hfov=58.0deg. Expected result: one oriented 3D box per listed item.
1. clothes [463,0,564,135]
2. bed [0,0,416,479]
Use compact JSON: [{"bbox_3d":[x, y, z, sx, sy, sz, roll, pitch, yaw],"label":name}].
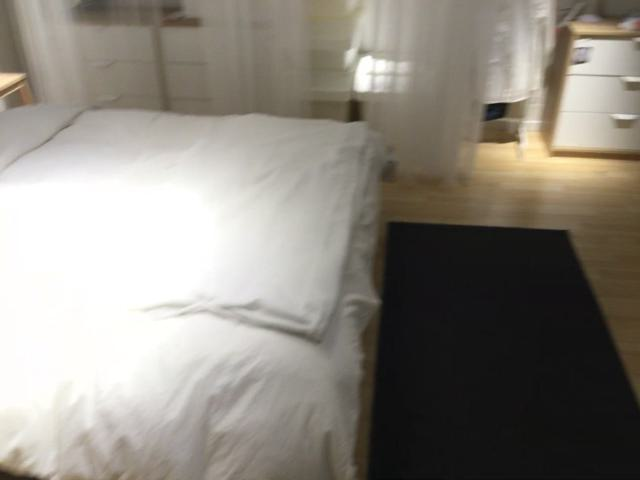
[{"bbox_3d":[0.990,-1.000,2.990,0.390,0.870,0.210,4,33,9],"label":"clothes"},{"bbox_3d":[-0.840,-0.110,1.900,2.170,0.970,1.920,4,33,9],"label":"bed"}]
